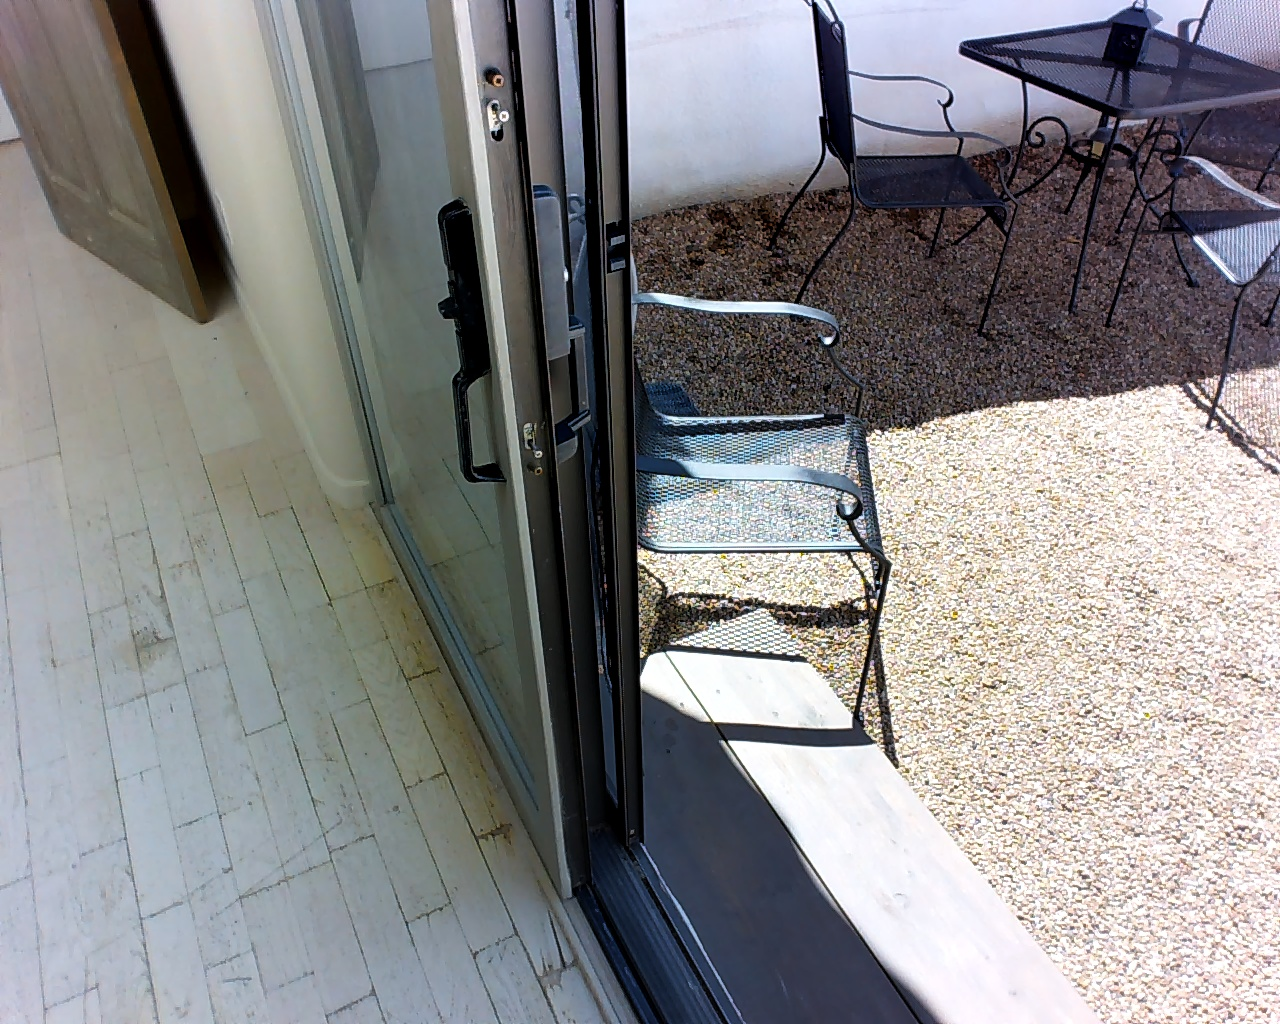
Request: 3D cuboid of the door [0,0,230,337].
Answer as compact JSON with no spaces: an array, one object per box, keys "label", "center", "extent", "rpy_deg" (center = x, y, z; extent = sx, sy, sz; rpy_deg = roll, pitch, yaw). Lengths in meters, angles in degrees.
[{"label":"door","center":[-1.390,-1.390,2.210],"extent":[0.810,2.070,0.050],"rpy_deg":[30,51,30]}]
